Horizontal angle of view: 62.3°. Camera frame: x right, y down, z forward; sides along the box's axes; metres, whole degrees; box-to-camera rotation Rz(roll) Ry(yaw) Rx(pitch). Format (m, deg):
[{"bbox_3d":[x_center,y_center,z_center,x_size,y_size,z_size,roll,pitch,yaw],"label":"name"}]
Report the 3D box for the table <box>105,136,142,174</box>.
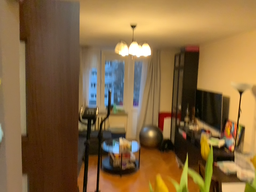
[{"bbox_3d":[-0.110,1.090,4.030,0.630,0.500,0.630,2,6,-6],"label":"table"}]
